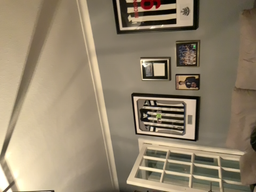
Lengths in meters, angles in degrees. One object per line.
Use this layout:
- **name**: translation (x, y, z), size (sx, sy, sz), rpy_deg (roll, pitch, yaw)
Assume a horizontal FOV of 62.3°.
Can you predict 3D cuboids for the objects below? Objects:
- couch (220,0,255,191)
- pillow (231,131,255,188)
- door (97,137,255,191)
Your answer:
- **couch**: translation (1.440, 0.100, 2.030), size (0.980, 0.790, 1.980), rpy_deg (-56, -35, -57)
- **pillow**: translation (1.370, 0.710, 2.290), size (0.190, 0.470, 0.440), rpy_deg (-45, 8, 39)
- **door**: translation (0.820, 0.970, 2.770), size (0.880, 2.270, 0.100), rpy_deg (-52, -39, -60)
